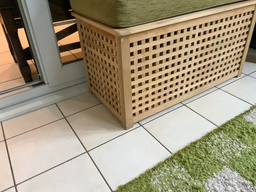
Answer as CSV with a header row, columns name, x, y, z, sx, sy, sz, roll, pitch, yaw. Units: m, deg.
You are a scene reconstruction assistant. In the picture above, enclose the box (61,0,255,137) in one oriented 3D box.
name,x,y,z,sx,sy,sz,roll,pitch,yaw
box,0.250,-0.350,1.260,1.060,0.630,0.510,-21,38,-26
